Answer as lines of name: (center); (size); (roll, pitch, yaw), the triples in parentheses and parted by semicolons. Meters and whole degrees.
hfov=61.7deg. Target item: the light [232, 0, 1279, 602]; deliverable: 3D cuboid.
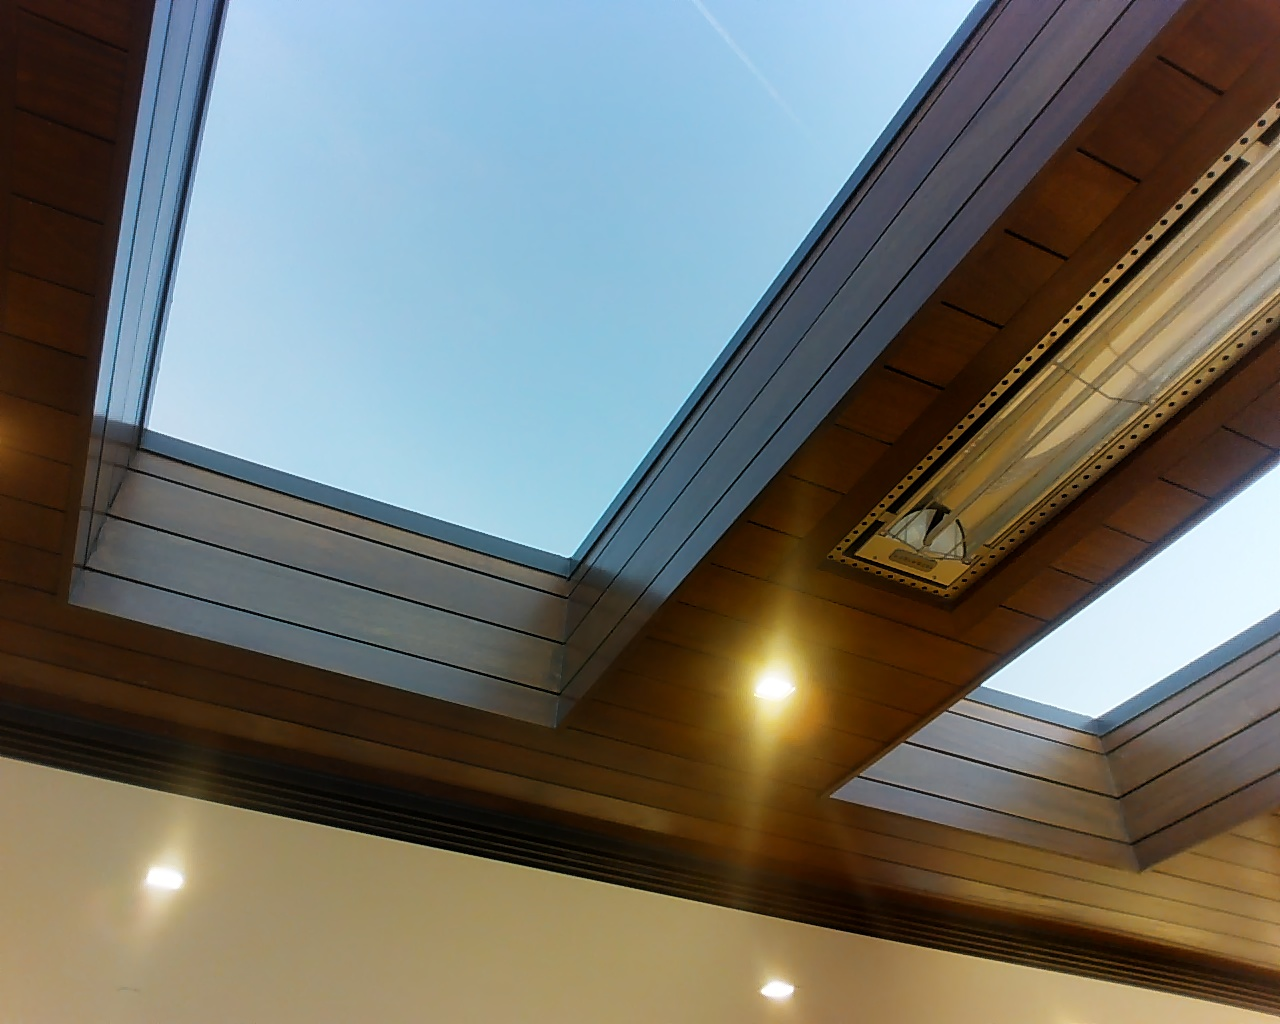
light: (0.620, -0.170, 1.610); (2.290, 0.410, 0.090); (18, -43, -19)
